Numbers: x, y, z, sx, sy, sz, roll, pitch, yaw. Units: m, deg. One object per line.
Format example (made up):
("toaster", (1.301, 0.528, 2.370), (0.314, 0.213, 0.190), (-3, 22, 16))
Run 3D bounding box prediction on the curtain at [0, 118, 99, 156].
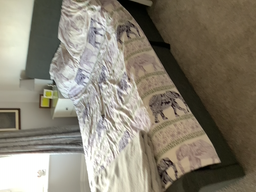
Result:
("curtain", (-1.570, 0.550, 2.830), (0.190, 2.390, 0.420), (-59, 41, 39))
